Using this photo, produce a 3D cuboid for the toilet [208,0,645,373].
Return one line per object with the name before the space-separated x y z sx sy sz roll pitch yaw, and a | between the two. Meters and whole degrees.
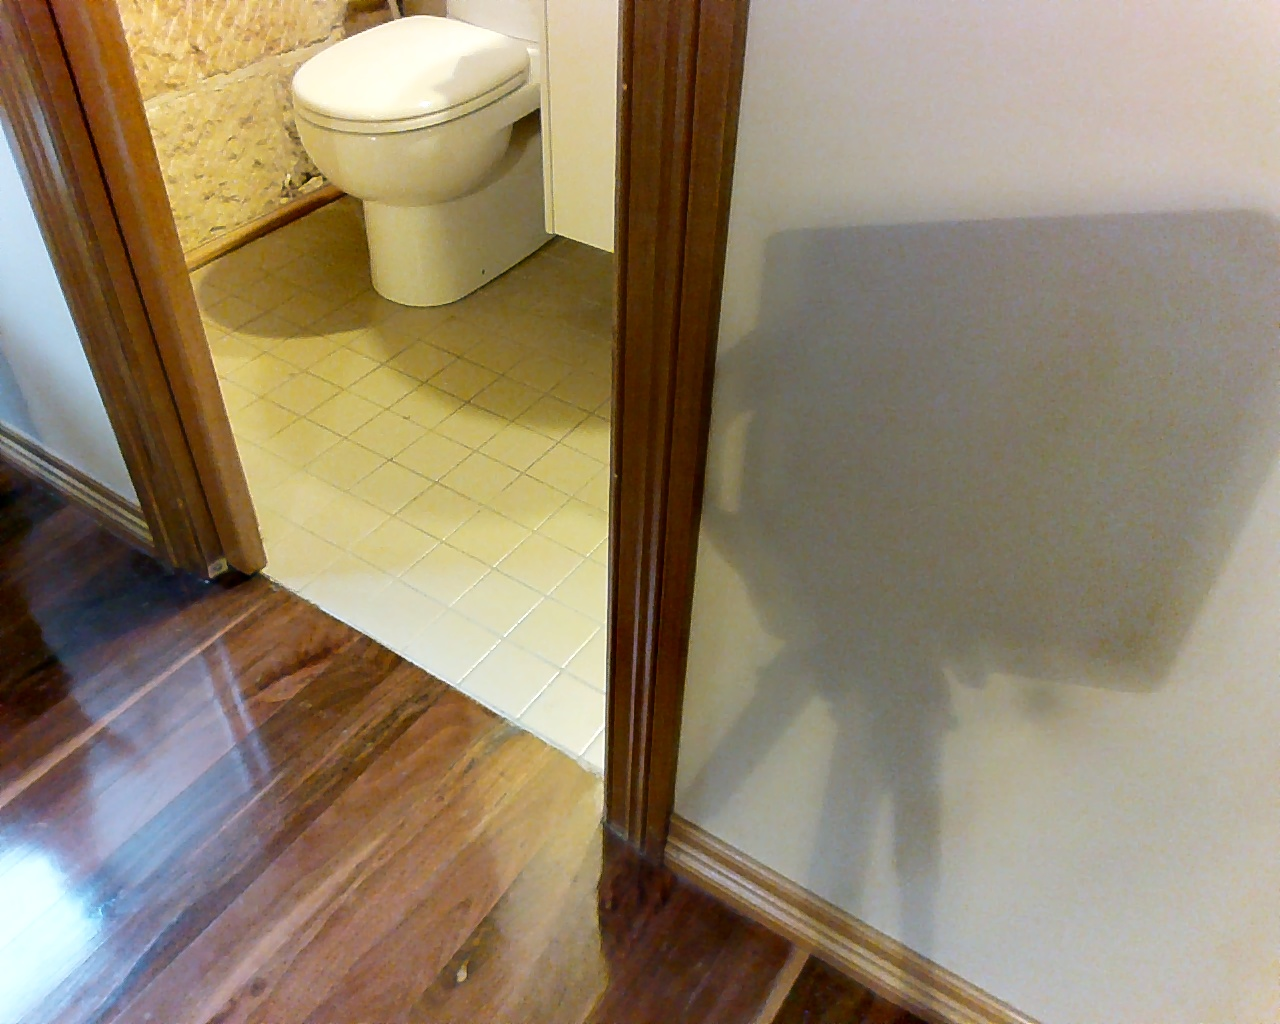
toilet | -0.360 -0.830 2.030 0.430 0.820 0.670 26 47 24
